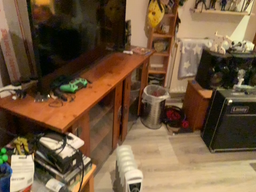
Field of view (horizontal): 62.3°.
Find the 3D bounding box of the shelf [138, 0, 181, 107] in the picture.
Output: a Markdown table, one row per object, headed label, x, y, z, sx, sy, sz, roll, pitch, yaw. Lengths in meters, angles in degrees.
| label | x | y | z | sx | sy | sz | roll | pitch | yaw |
| --- | --- | --- | --- | --- | --- | --- | --- | --- | --- |
| shelf | 0.320 | -0.620 | 2.200 | 0.260 | 1.610 | 0.190 | -1 | 30 | -11 |
